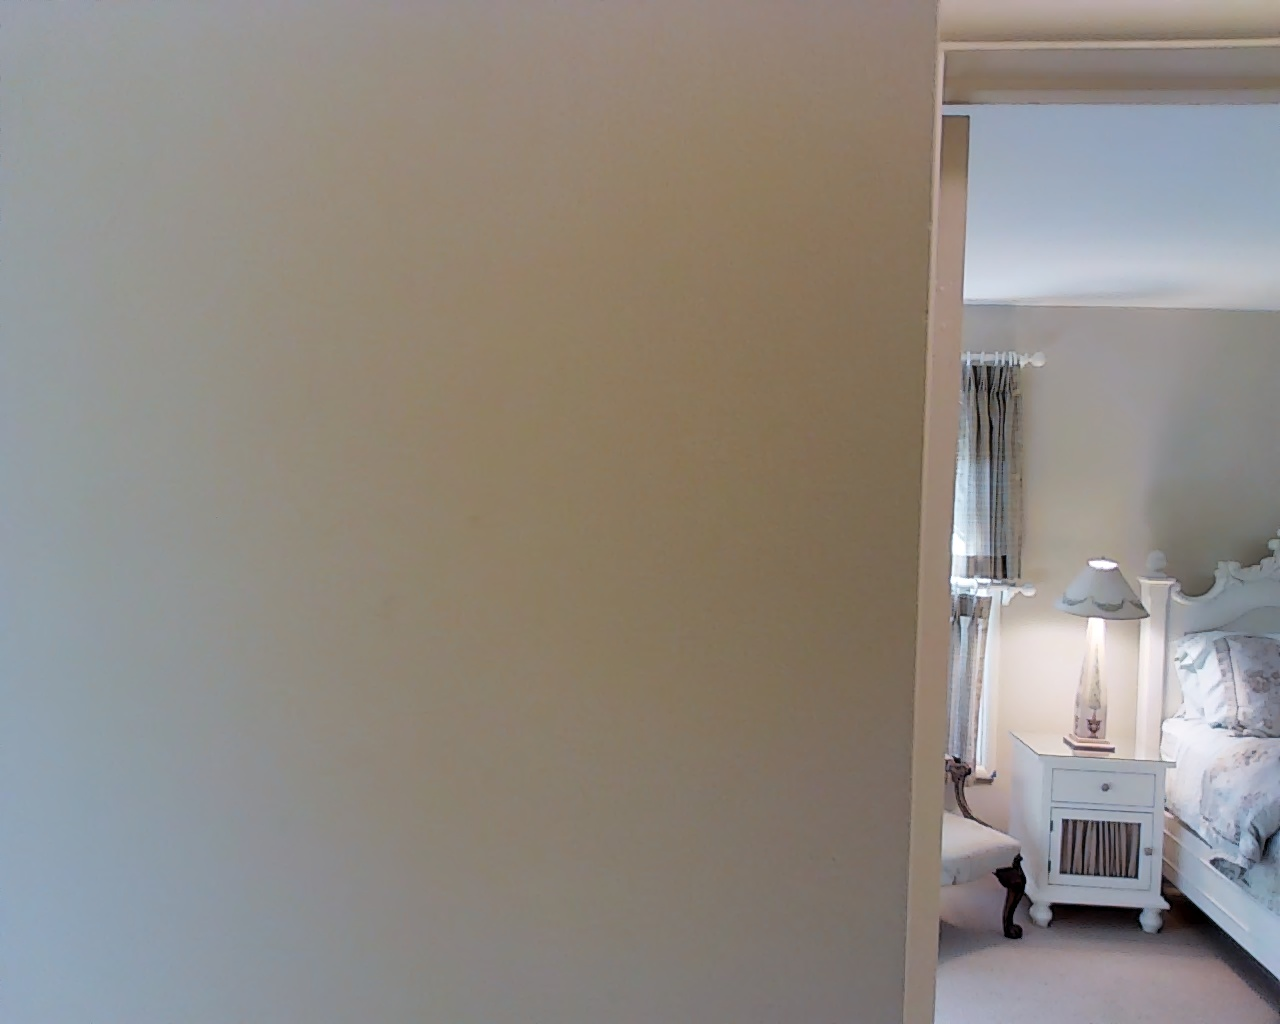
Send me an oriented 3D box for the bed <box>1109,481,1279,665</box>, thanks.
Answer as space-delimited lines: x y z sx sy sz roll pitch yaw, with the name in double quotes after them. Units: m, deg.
2.989 0.270 4.470 1.870 0.730 0.280 2 1 6 "bed"
